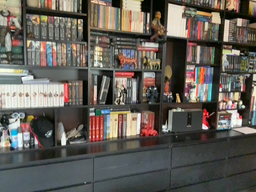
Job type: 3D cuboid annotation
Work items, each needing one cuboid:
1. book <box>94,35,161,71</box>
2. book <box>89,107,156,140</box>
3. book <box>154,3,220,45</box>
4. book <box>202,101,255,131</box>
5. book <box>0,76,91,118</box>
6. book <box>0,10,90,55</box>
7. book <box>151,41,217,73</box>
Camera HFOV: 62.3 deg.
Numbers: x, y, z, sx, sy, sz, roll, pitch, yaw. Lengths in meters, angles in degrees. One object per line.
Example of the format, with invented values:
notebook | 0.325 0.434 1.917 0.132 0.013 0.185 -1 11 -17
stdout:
book | 0.000 -0.430 2.210 0.690 0.310 0.150 -1 7 -22
book | -0.060 0.280 2.280 0.680 0.270 0.230 -1 7 -22
book | 0.690 -0.800 2.440 0.760 0.350 0.180 -1 7 -22
book | 1.360 0.260 2.870 0.630 0.330 0.260 -1 7 -22
book | -0.800 -0.010 2.000 0.830 0.330 0.370 -1 7 -22
book | -0.770 -0.540 1.870 0.820 0.290 0.210 -1 7 -22
book | 0.670 -0.450 2.520 0.750 0.320 0.230 -1 7 -22
